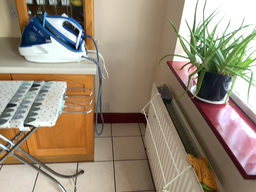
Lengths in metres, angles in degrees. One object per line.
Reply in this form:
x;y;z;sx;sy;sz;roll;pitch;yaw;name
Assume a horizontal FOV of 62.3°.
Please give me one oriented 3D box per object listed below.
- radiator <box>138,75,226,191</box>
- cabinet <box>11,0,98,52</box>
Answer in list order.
0.240;0.400;1.400;0.110;0.670;1.060;0;32;-8;radiator
-0.460;-0.970;1.330;0.540;1.310;0.320;0;32;-8;cabinet
